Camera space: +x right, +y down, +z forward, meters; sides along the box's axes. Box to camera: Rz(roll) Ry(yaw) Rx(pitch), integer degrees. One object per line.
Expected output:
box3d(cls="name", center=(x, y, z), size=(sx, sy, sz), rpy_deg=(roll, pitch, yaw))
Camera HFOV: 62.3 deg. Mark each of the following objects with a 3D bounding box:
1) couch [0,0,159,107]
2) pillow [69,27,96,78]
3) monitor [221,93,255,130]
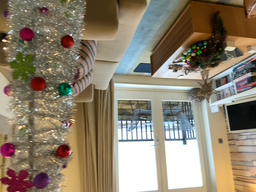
box3d(cls="couch", center=(-0.520, -0.420, 1.970), size=(0.930, 0.710, 1.800), rpy_deg=(2, 166, -15))
box3d(cls="pillow", center=(-0.360, -0.320, 1.630), size=(0.150, 0.320, 0.460), rpy_deg=(-6, -171, -14))
box3d(cls="monitor", center=(1.770, 0.230, 3.130), size=(0.050, 0.470, 0.790), rpy_deg=(7, 164, -32))
